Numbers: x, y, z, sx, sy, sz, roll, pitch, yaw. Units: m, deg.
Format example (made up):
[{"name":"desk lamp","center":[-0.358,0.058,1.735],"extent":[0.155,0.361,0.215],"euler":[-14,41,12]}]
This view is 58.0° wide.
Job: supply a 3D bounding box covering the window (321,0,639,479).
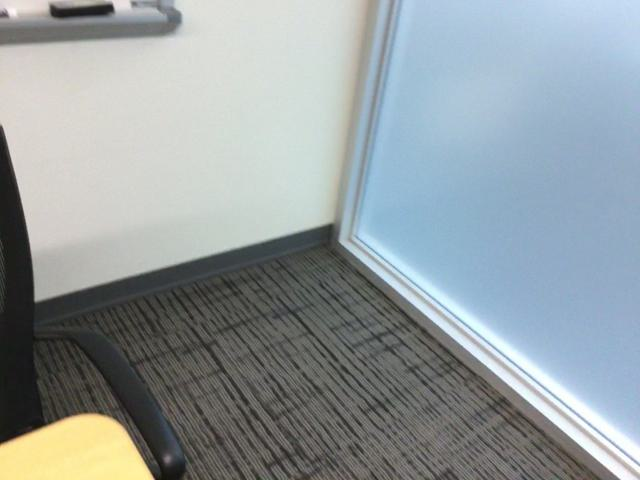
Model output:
[{"name":"window","center":[0.690,-0.080,1.400],"extent":[0.200,1.290,1.810],"euler":[-15,38,-34]}]
